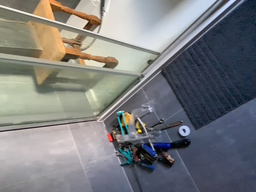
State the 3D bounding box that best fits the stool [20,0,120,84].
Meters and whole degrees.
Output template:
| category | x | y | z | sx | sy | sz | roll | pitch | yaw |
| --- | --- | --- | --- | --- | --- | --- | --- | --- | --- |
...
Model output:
| category | x | y | z | sx | sy | sz | roll | pitch | yaw |
| --- | --- | --- | --- | --- | --- | --- | --- | --- | --- |
| stool | -0.380 | -0.350 | 1.420 | 0.270 | 0.480 | 0.440 | -35 | 68 | 34 |
